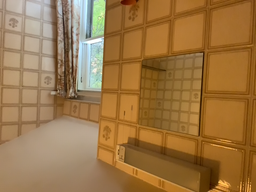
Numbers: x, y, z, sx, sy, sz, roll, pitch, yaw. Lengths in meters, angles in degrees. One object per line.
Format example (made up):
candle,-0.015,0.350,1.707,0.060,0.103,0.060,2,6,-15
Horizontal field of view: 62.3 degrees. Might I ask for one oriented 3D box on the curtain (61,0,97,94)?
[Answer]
curtain,-0.460,-0.580,1.980,0.200,1.110,0.250,1,-178,-43
